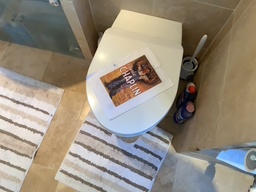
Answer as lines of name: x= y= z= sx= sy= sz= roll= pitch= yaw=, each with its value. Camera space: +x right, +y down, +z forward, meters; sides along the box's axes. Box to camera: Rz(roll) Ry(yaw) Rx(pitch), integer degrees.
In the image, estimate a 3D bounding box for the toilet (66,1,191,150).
toilet: x=0.020 y=-0.060 z=1.100 sx=0.390 sy=0.450 sz=0.570 roll=14 pitch=74 yaw=4
